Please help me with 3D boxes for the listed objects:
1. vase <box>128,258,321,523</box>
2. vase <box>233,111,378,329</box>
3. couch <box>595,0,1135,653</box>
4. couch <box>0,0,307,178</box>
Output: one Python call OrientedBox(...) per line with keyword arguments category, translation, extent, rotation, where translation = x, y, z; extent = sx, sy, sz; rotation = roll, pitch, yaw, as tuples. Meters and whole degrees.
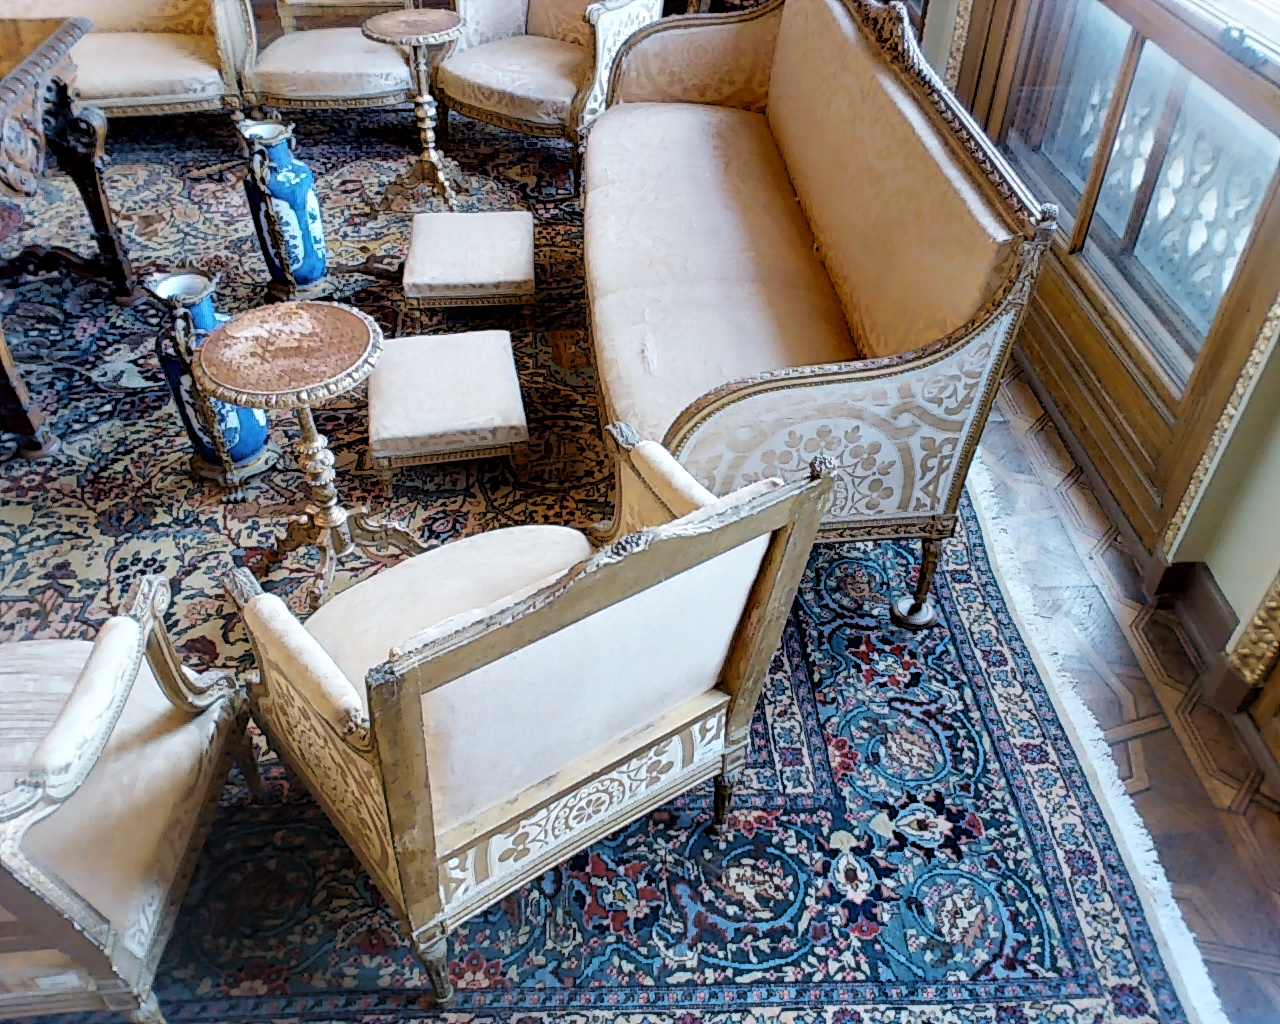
OrientedBox(category="vase", translation=(-0.970, -0.280, 2.550), extent=(0.230, 0.540, 0.220), rotation=(31, 50, 30))
OrientedBox(category="vase", translation=(-0.980, -0.860, 3.190), extent=(0.220, 0.540, 0.230), rotation=(31, 50, 30))
OrientedBox(category="couch", translation=(0.310, -0.800, 2.790), extent=(0.810, 1.010, 2.150), rotation=(-2, 42, -2))
OrientedBox(category="couch", translation=(-2.079, -1.850, 4.020), extent=(1.350, 0.950, 0.650), rotation=(-2, 42, -3))
